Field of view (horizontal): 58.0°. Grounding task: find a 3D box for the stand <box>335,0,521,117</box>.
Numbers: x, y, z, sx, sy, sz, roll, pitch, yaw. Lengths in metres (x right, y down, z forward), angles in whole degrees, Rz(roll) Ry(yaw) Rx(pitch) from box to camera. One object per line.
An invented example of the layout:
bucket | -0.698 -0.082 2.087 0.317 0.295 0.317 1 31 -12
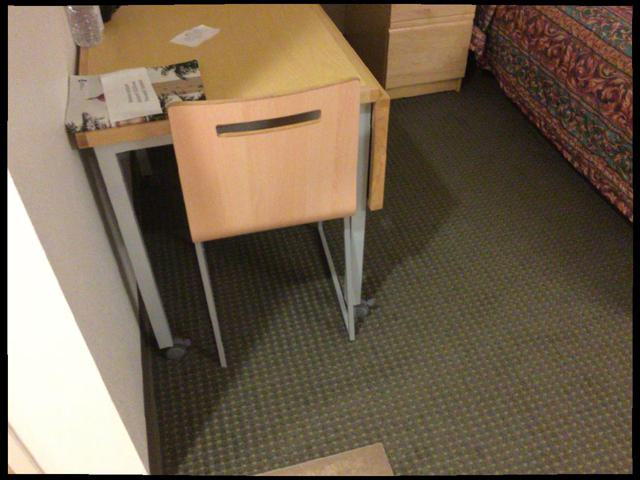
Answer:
stand | 0.459 -1.102 2.650 0.629 0.721 0.660 -13 44 -9

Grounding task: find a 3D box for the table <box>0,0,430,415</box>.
table | -0.359 -0.291 1.830 0.968 0.851 1.151 -12 44 -8

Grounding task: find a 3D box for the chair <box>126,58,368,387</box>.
chair | -0.130 0.010 1.450 0.469 0.831 0.170 -13 44 -9
